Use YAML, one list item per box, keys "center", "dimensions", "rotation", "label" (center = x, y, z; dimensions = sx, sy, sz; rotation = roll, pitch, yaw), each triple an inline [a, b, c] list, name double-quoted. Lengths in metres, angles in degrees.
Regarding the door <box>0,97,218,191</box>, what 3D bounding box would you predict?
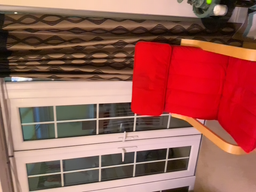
- center: [-0.090, 0.620, 2.280]
  dimensions: [0.080, 2.150, 1.170]
  rotation: [-127, 37, -64]
  label: "door"
